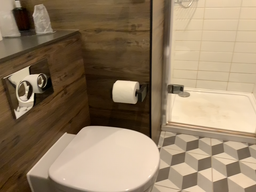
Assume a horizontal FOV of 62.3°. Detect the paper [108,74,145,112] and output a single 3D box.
[{"bbox_3d":[0.000,-0.020,1.060,0.140,0.120,0.160,6,27,15],"label":"paper"}]
